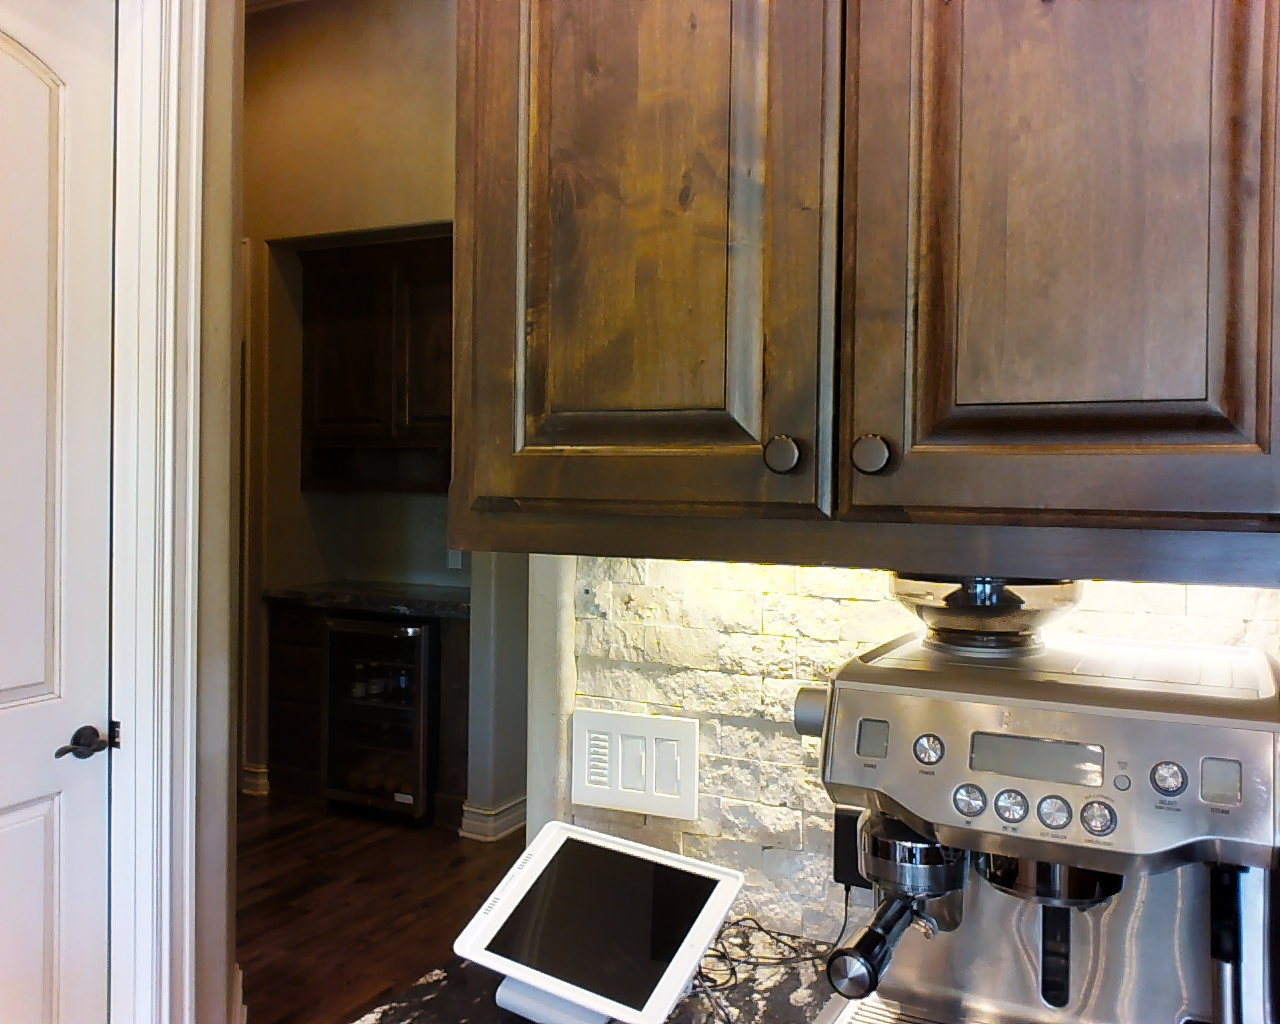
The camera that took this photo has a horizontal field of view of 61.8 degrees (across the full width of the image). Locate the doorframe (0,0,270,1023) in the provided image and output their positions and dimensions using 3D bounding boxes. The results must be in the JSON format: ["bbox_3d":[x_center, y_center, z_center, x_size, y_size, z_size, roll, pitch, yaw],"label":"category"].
[{"bbox_3d":[-1.140,0.140,1.900,0.170,2.530,1.090,1,0,26],"label":"doorframe"}]
